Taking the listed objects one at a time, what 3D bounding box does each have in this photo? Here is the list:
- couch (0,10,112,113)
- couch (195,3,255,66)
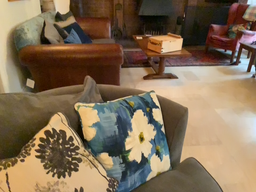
[{"bbox_3d":[-0.810,-0.690,3.080,1.100,0.810,2.180,-1,28,-5],"label":"couch"},{"bbox_3d":[1.920,-1.190,3.970,0.840,0.940,0.750,-14,32,-28],"label":"couch"}]
